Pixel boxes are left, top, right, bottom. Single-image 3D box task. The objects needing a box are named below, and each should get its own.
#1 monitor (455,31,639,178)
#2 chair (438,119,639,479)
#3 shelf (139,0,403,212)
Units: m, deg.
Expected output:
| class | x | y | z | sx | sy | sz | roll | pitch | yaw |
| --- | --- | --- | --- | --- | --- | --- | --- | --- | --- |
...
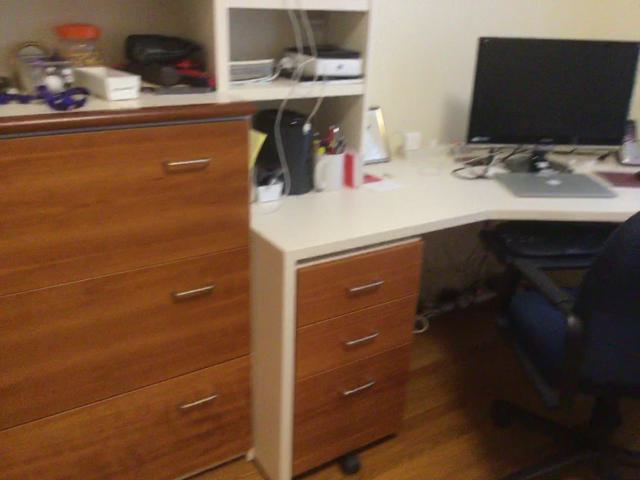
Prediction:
| class | x | y | z | sx | sy | sz | roll | pitch | yaw |
| --- | --- | --- | --- | --- | --- | --- | --- | --- | --- |
| monitor | 0.770 | -0.460 | 1.970 | 0.520 | 0.430 | 0.170 | 4 | 20 | -4 |
| chair | 0.760 | 0.250 | 1.470 | 0.660 | 0.960 | 0.650 | 4 | 20 | -1 |
| shelf | -0.110 | -0.830 | 1.480 | 0.620 | 1.430 | 0.330 | -8 | 24 | -32 |
